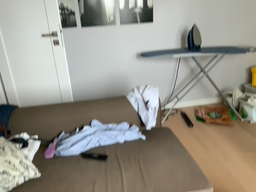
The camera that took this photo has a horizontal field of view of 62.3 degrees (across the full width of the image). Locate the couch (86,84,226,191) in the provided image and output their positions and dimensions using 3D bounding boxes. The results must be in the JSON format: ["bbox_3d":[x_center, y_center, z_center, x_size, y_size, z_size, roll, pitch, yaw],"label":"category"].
[{"bbox_3d":[0.070,0.420,1.510,0.650,0.680,0.930,-6,23,-10],"label":"couch"}]
